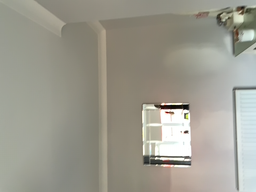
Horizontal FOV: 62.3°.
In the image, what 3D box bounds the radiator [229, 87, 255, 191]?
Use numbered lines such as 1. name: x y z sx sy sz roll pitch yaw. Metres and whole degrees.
1. radiator: 1.580 0.550 2.470 0.120 0.680 1.320 10 -102 -80
